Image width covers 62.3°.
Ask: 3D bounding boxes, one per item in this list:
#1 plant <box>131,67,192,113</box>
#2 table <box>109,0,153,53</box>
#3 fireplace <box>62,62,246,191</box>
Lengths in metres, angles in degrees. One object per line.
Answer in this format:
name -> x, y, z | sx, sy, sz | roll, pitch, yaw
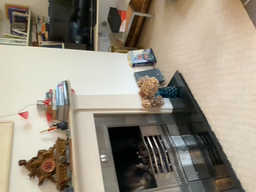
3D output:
plant -> 0.340, -0.060, 2.300 | 0.360, 0.470, 0.330 | 116, 146, -48
table -> 0.010, -1.120, 3.230 | 0.650, 0.340, 0.610 | 113, 148, -45
fireplace -> 0.080, 0.530, 1.970 | 0.790, 1.190, 1.530 | 115, 147, -47
